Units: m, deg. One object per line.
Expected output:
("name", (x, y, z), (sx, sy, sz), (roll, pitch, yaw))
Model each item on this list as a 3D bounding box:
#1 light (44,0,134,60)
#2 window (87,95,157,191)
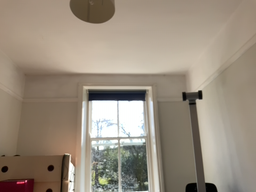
("light", (-0.270, -0.710, 1.590), (0.530, 0.400, 0.780), (23, -17, 1))
("window", (-0.110, 0.760, 3.260), (0.970, 1.560, 0.240), (0, -17, -6))
